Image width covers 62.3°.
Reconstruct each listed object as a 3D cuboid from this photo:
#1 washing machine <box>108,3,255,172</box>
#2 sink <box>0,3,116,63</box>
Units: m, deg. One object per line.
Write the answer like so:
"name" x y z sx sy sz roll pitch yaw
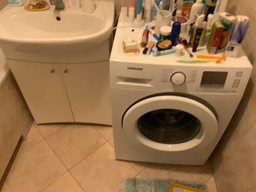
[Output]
"washing machine" 0.230 -0.030 1.360 0.610 0.840 0.660 2 45 1
"sink" -0.430 -0.380 1.230 0.690 0.140 0.400 2 45 1
